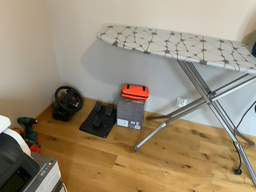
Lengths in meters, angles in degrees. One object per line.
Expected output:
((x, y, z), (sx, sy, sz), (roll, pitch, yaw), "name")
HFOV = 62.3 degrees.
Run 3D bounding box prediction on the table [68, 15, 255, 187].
((0.370, 0.010, 1.550), (1.440, 0.870, 0.460), (14, 38, 14), "table")
